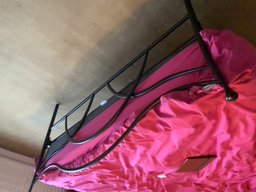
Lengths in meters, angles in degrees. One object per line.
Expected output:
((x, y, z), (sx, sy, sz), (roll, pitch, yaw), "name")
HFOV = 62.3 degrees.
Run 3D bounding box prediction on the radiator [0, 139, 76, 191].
((-1.400, 1.000, 2.620), (1.560, 0.760, 0.080), (31, 131, -31), "radiator")
